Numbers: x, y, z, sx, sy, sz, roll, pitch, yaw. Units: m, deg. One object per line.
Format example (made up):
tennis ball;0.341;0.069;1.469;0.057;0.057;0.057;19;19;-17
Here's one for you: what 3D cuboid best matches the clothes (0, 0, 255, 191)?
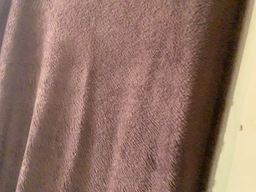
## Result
clothes;-0.210;0.180;0.580;0.810;1.580;0.180;18;8;28
